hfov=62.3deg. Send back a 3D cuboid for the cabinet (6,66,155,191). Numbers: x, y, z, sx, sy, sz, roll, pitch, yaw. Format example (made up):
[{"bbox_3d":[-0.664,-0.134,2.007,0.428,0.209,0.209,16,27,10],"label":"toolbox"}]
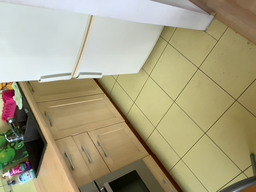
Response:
[{"bbox_3d":[-0.510,0.320,2.060,1.180,0.860,0.560,50,130,28],"label":"cabinet"}]

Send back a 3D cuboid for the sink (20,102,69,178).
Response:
[{"bbox_3d":[-0.730,0.370,1.810,0.400,0.190,0.470,50,130,28],"label":"sink"}]

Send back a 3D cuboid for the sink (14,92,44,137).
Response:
[{"bbox_3d":[-0.910,0.170,1.930,0.190,0.150,0.370,50,130,28],"label":"sink"}]
